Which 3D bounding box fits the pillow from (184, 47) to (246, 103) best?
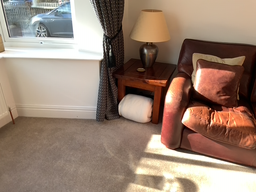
[{"bbox_3d":[0.810,-0.200,2.030,0.460,0.430,0.230,10,-5,15],"label":"pillow"}]
